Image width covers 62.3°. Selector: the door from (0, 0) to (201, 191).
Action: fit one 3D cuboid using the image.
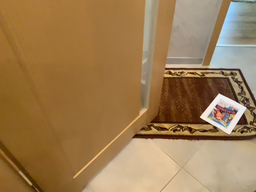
[{"bbox_3d":[-0.110,-0.250,0.560,0.150,2.190,1.030,35,57,28],"label":"door"}]
